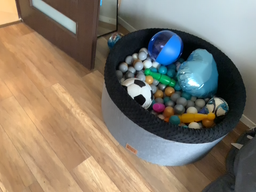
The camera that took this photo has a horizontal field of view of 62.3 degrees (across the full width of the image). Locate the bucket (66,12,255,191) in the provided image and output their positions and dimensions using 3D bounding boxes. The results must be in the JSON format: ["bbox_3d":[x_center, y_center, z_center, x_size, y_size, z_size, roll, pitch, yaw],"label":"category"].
[{"bbox_3d":[0.250,-0.030,1.520,0.910,0.450,1.020,-33,66,-33],"label":"bucket"}]
